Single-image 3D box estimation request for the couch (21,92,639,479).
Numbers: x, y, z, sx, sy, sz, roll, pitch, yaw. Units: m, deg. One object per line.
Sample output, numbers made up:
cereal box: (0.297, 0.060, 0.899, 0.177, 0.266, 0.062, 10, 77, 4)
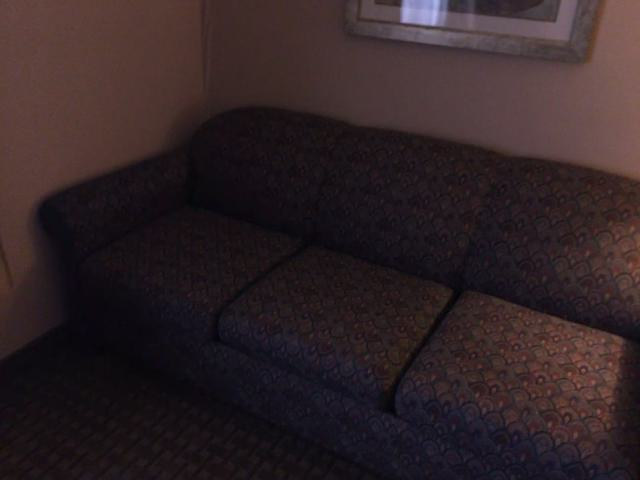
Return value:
couch: (0.180, 0.160, 1.830, 2.050, 0.870, 0.860, 15, 26, 24)
